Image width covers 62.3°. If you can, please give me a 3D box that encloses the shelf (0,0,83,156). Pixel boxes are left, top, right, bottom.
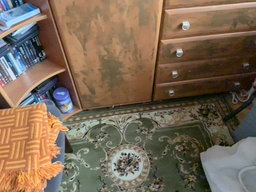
[{"bbox_3d":[-0.620,-0.220,1.100,0.560,1.110,0.580,-7,52,-4],"label":"shelf"}]

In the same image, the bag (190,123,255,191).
[{"bbox_3d":[0.580,0.410,1.120,0.320,0.220,0.430,-9,52,-6],"label":"bag"}]

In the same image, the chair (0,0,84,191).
[{"bbox_3d":[-0.530,0.210,0.820,0.540,1.010,0.400,-9,52,-6],"label":"chair"}]
